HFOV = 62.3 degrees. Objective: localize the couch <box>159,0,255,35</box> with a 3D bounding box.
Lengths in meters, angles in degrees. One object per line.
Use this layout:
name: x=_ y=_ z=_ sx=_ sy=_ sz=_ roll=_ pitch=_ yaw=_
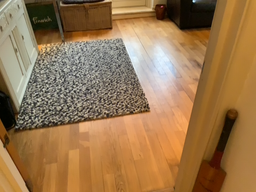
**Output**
couch: x=1.460 y=-1.730 z=3.760 sx=1.530 sy=0.810 sz=0.970 roll=-8 pitch=38 yaw=-9
